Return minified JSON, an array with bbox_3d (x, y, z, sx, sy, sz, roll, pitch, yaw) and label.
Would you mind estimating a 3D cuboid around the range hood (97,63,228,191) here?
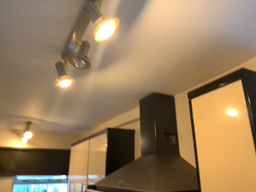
[{"bbox_3d":[0.150,0.310,1.590,0.410,0.710,0.920,11,-22,-29],"label":"range hood"}]
